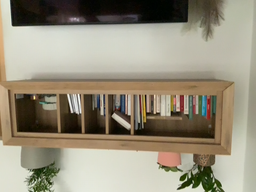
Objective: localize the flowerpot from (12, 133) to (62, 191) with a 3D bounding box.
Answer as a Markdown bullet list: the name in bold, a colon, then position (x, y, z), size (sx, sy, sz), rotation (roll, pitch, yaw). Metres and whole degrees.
- **flowerpot**: position (-0.660, 0.520, 1.570), size (0.240, 0.430, 0.220), rotation (1, -172, 7)
